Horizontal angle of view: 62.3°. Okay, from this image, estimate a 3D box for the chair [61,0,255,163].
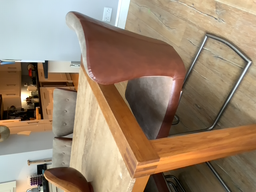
[{"bbox_3d":[0.140,-0.090,1.160,0.470,0.880,0.600,-120,36,-44],"label":"chair"}]
